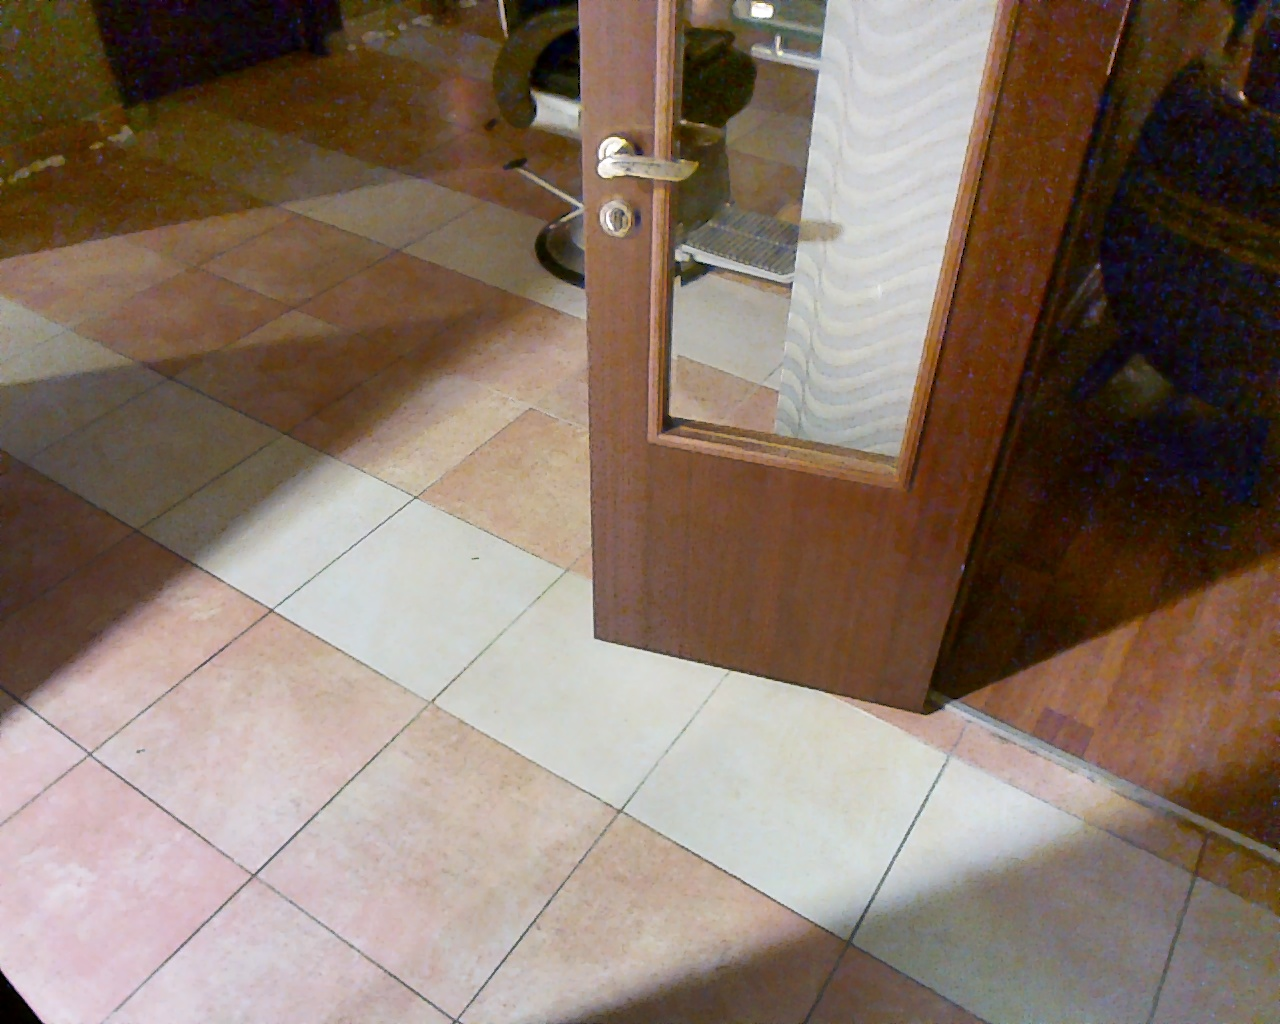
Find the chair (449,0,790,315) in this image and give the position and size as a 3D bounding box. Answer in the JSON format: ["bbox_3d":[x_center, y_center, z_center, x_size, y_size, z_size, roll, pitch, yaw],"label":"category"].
[{"bbox_3d":[-0.050,-1.320,3.010,0.710,1.220,0.610,25,46,24],"label":"chair"}]
